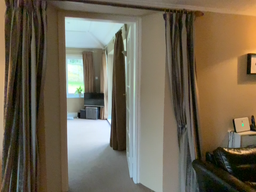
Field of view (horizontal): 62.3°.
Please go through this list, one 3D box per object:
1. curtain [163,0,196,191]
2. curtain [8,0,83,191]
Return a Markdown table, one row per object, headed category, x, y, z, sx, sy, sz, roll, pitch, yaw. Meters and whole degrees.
| category | x | y | z | sx | sy | sz | roll | pitch | yaw |
| --- | --- | --- | --- | --- | --- | --- | --- | --- | --- |
| curtain | 0.540 | 0.020 | 2.290 | 0.290 | 2.040 | 0.220 | 1 | 5 | 6 |
| curtain | -0.840 | 0.100 | 2.290 | 0.350 | 2.180 | 0.630 | 2 | 6 | 21 |
